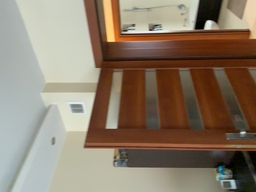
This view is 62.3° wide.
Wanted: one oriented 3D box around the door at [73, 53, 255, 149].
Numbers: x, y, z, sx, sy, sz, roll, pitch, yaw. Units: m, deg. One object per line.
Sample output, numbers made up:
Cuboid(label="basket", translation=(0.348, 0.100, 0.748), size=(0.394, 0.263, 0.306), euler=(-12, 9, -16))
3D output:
Cuboid(label="door", translation=(0.750, -0.040, 1.550), size=(0.970, 2.080, 0.090), euler=(-85, -5, -50))
